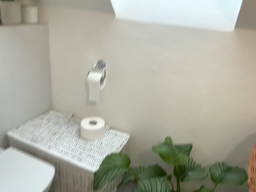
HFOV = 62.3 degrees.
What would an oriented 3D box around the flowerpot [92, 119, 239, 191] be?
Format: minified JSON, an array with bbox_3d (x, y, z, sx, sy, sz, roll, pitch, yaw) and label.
[{"bbox_3d":[0.220,0.660,1.230,0.630,0.550,0.980,14,24,19],"label":"flowerpot"}]
